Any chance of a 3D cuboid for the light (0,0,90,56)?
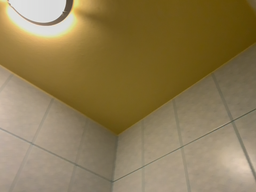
[{"bbox_3d":[-0.340,-0.370,0.770,0.320,0.300,0.130,35,-145,-24],"label":"light"}]
